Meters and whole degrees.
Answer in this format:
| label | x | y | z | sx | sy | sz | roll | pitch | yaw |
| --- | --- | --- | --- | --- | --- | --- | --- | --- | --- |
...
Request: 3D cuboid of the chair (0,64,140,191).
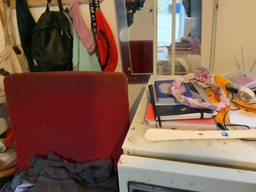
| label | x | y | z | sx | sy | sz | roll | pitch | yaw |
| --- | --- | --- | --- | --- | --- | --- | --- | --- | --- |
| chair | -0.230 | 0.420 | 0.730 | 0.510 | 0.910 | 0.580 | 0 | 25 | 6 |
